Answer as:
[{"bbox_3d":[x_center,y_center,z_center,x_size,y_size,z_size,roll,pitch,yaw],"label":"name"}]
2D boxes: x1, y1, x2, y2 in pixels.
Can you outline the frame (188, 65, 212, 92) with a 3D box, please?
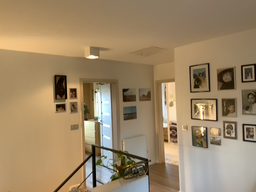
[{"bbox_3d":[1.100,-0.260,3.240,0.050,0.390,0.360,-2,0,-41],"label":"frame"}]
